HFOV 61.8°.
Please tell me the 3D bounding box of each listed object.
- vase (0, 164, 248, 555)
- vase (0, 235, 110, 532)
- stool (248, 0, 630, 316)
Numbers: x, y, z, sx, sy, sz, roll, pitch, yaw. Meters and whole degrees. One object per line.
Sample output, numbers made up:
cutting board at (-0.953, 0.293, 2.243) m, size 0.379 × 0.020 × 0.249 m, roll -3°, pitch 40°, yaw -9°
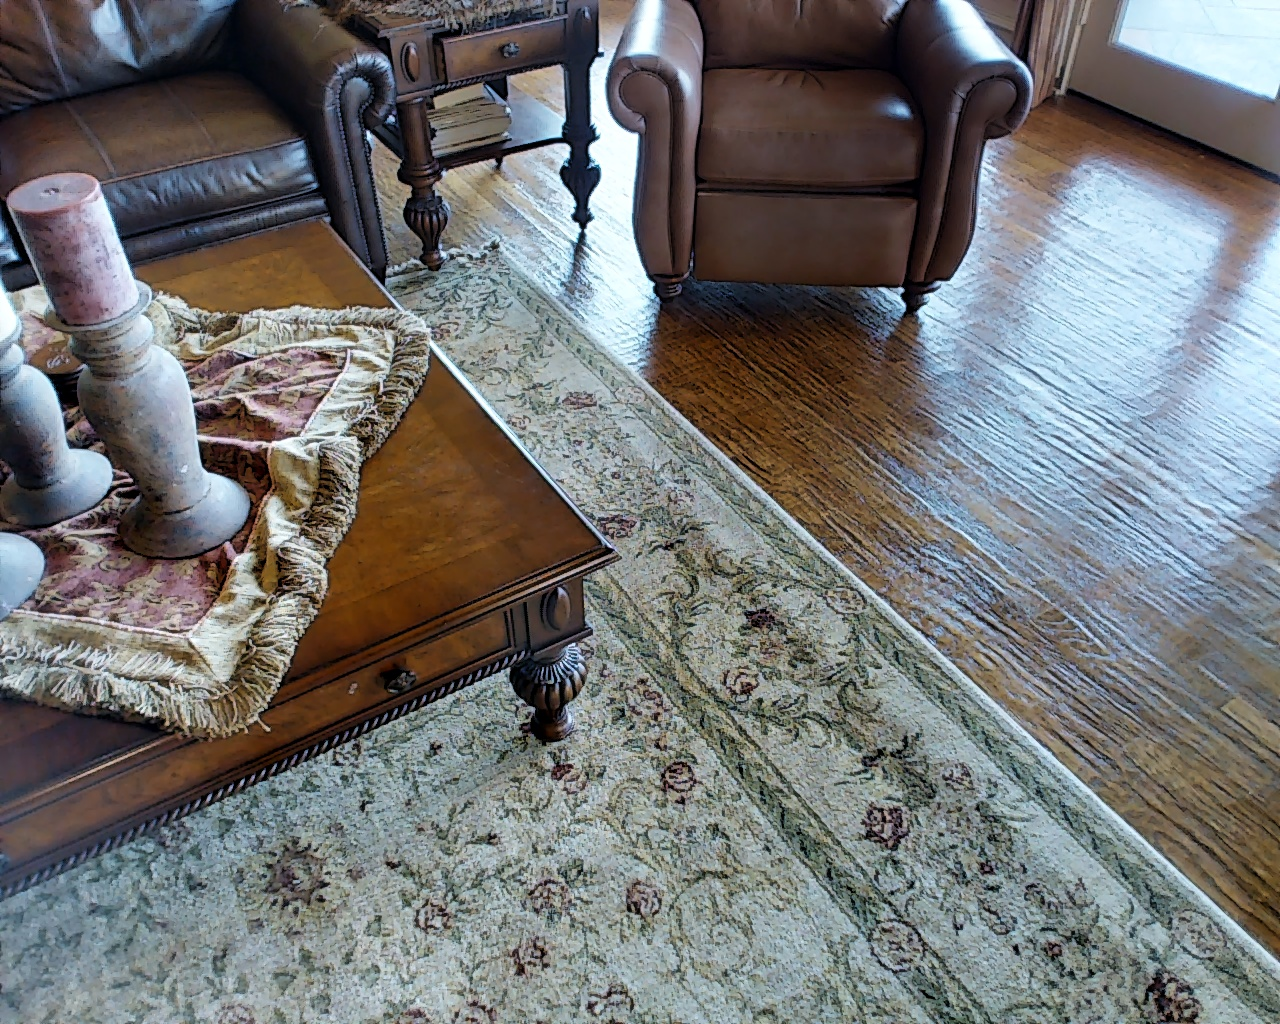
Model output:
vase at (-0.660, -0.180, 1.400) m, size 0.120 × 0.500 × 0.120 m, roll 26°, pitch 48°, yaw 25°
vase at (-0.880, -0.200, 1.450) m, size 0.100 × 0.480 × 0.120 m, roll 26°, pitch 48°, yaw 25°
stool at (-0.570, -1.190, 3.120) m, size 0.800 × 0.770 × 0.760 m, roll -23°, pitch 47°, yaw -24°
